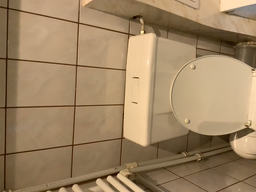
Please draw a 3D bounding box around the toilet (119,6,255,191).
[{"bbox_3d":[0.550,0.000,0.910,0.700,0.920,0.460,12,100,53],"label":"toilet"}]
